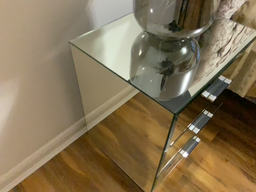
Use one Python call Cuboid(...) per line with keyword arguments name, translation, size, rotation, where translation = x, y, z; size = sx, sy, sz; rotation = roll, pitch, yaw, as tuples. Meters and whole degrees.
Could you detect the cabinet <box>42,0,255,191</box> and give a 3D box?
Cuboid(name="cabinet", translation=(0.100, -0.030, 0.970), size=(0.450, 0.630, 0.640), rotation=(36, 55, 26))
